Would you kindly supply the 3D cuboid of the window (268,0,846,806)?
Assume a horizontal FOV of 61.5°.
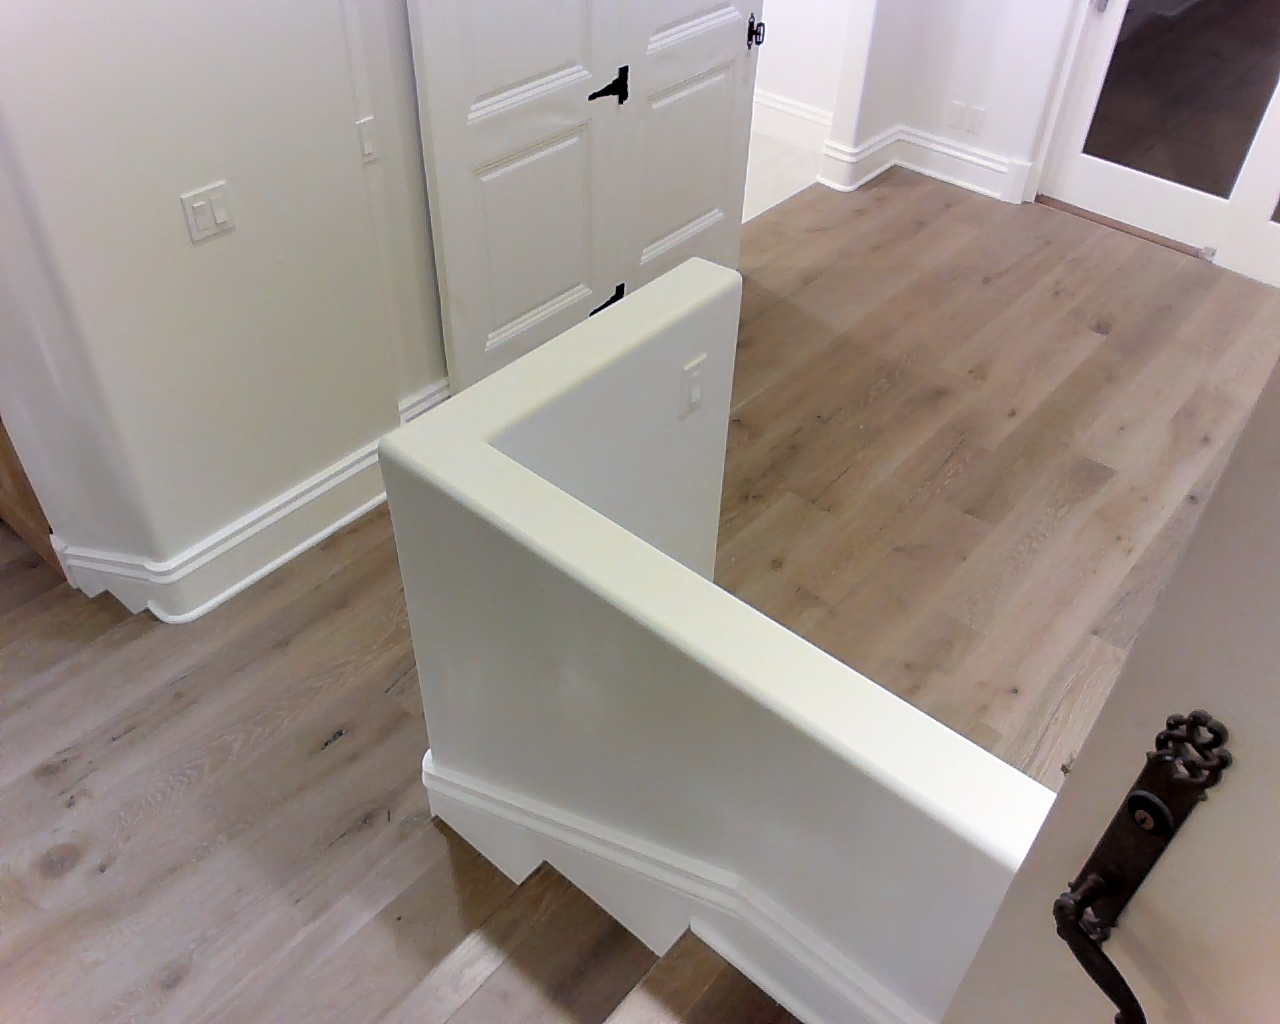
[{"bbox_3d":[-0.350,-0.340,3.560,1.900,2.440,0.220,32,51,29],"label":"window"}]
